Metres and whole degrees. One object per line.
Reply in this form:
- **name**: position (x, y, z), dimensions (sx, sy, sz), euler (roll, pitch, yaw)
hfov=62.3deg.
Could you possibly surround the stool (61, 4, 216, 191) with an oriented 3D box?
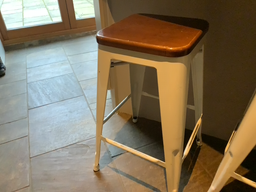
- **stool**: position (0.060, 0.010, 0.920), dimensions (0.410, 0.660, 0.370), euler (17, 39, 25)
